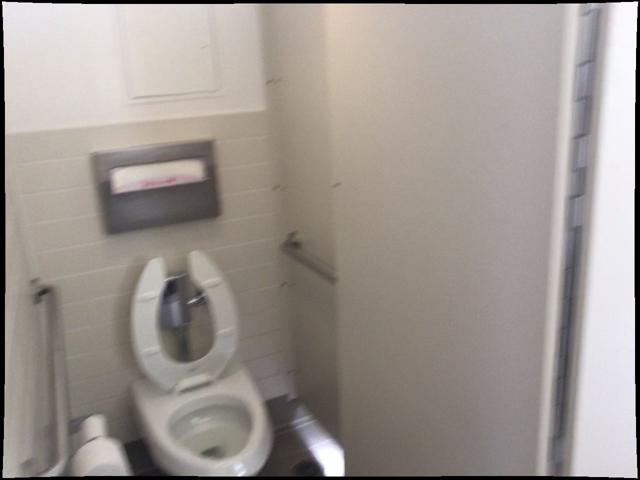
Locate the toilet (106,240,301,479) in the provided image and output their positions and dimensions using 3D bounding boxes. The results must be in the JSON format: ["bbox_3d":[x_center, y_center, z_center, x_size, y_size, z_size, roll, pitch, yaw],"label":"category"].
[{"bbox_3d":[-0.400,0.480,1.930,0.420,0.761,0.660,-11,19,-23],"label":"toilet"}]

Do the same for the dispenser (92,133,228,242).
[{"bbox_3d":[-0.549,-0.190,2.030,0.420,0.320,0.060,-11,19,-23],"label":"dispenser"}]

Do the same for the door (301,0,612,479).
[{"bbox_3d":[0.200,0.040,1.300,0.070,1.792,0.890,-11,19,-23],"label":"door"}]
